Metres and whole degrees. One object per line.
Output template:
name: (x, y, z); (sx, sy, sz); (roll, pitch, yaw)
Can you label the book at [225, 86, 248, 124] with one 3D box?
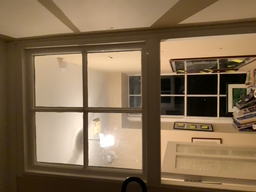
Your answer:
book: (1.500, 0.110, 2.940); (0.280, 0.220, 0.500); (-13, -78, -76)
